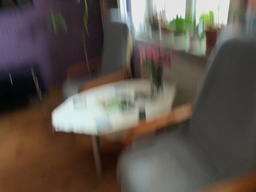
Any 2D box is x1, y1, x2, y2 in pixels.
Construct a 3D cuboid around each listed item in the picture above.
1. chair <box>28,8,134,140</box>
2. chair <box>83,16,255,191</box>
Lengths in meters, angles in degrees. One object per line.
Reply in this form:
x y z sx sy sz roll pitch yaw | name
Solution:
-0.440 -0.280 2.220 0.710 1.100 0.630 -22 32 -31 | chair
0.300 0.220 1.140 0.710 1.100 0.680 -18 30 -25 | chair
